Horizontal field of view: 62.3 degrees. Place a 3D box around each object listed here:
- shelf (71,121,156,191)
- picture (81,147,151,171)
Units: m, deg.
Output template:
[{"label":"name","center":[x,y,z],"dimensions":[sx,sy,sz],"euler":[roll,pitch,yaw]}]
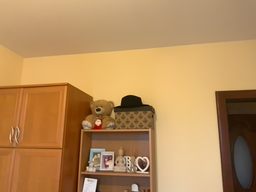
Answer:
[{"label":"shelf","center":[-0.120,1.120,1.720],"dimensions":[0.670,1.810,0.240],"euler":[-2,-13,12]},{"label":"picture","center":[-0.100,0.540,1.860],"dimensions":[0.580,0.170,0.190],"euler":[-2,-13,13]}]
